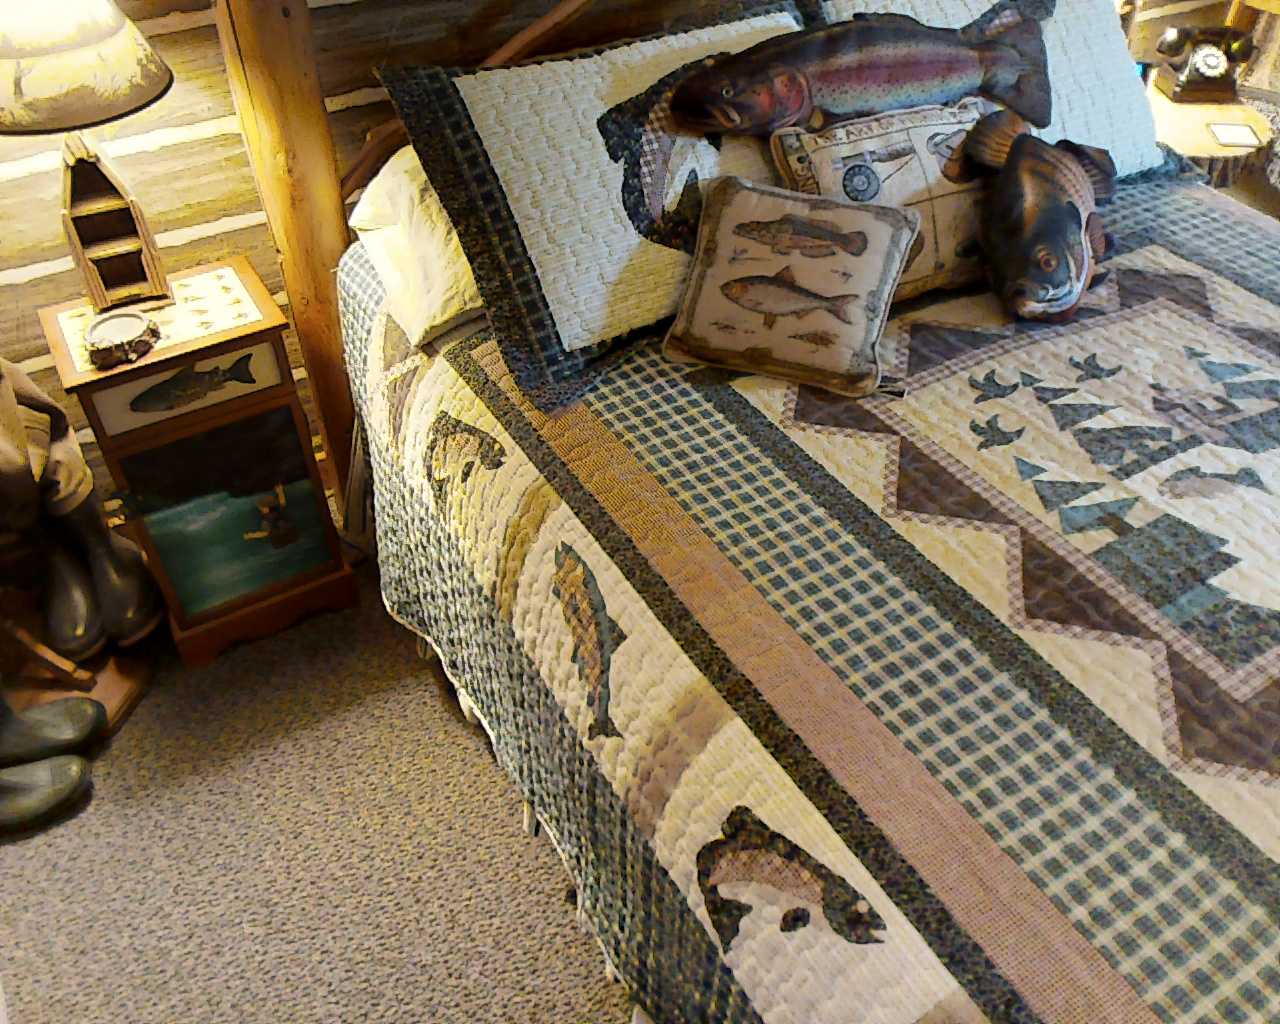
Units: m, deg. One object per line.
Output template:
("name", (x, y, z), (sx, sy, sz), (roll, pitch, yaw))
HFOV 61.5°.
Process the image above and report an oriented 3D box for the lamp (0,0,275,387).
("lamp", (-0.800, -0.510, 1.620), (0.300, 0.480, 0.320), (-22, 48, -22))
